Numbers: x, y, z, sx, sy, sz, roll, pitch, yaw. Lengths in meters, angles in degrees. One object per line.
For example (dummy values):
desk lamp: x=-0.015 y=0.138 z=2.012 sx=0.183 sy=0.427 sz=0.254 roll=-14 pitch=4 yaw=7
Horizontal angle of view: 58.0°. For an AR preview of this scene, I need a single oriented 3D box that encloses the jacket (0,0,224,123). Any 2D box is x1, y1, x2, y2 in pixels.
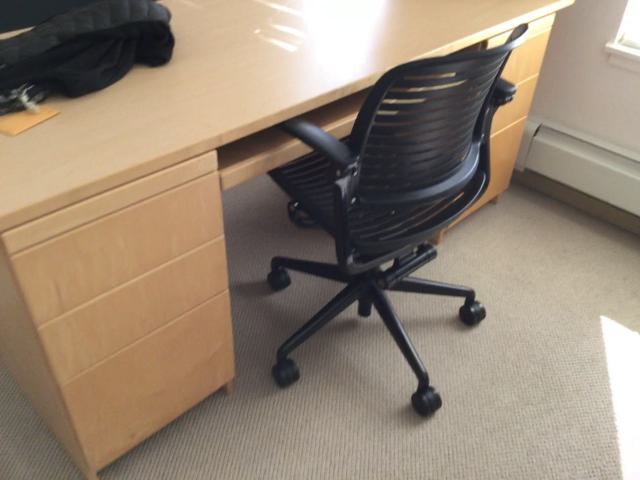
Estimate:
jacket: x=-0.500 y=-0.430 z=1.240 sx=0.480 sy=0.130 sz=0.320 roll=-27 pitch=48 yaw=-35
